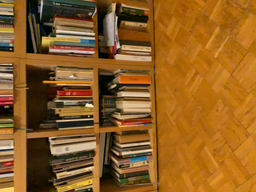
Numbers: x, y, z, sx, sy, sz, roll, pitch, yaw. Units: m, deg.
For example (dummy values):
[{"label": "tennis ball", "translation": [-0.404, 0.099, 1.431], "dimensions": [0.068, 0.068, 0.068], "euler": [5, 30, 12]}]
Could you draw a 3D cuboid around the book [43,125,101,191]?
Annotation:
[{"label": "book", "translation": [-0.350, 0.620, 1.290], "dimensions": [0.290, 0.300, 0.850], "euler": [173, 97, -66]}]
